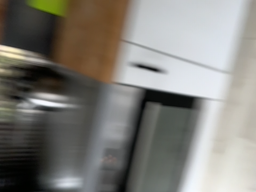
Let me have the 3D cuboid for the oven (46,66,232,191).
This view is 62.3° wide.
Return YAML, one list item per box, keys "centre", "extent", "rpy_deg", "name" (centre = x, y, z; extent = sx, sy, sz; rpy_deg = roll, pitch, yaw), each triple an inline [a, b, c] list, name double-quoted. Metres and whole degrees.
- centre: [0.060, 0.210, 1.280]
  extent: [0.590, 0.830, 0.570]
  rpy_deg: [22, 101, 52]
  name: "oven"
